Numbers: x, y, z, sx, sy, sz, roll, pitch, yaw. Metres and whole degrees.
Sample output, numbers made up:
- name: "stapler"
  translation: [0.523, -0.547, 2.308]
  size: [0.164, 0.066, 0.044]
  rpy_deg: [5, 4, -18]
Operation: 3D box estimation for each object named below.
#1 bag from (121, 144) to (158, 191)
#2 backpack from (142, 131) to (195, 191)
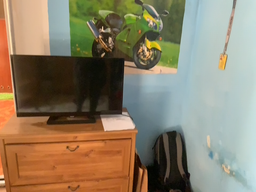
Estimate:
- name: "bag"
  translation: [0.080, 0.700, 1.840]
  size: [0.200, 0.400, 0.370]
  rpy_deg: [0, 19, -13]
- name: "backpack"
  translation: [0.360, 0.610, 1.990]
  size: [0.330, 0.440, 0.330]
  rpy_deg: [0, 19, -14]
